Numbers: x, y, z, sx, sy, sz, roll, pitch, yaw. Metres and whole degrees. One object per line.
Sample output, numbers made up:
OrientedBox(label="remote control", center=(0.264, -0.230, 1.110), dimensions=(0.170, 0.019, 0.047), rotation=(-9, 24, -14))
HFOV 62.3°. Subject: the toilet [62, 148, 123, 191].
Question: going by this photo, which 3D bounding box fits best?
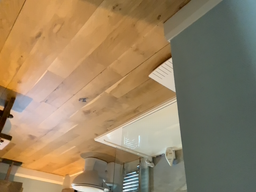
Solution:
OrientedBox(label="toilet", center=(-0.480, 1.250, 2.940), dimensions=(0.690, 0.820, 0.410), rotation=(28, 139, -33))
